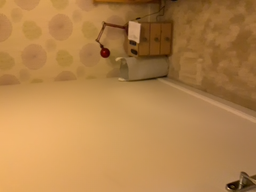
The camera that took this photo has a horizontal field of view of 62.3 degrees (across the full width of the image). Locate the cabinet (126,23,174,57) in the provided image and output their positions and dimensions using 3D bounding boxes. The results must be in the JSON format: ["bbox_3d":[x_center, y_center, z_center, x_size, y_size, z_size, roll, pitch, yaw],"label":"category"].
[{"bbox_3d":[0.270,-0.740,2.770,0.440,0.470,0.390,-141,48,-64],"label":"cabinet"}]
